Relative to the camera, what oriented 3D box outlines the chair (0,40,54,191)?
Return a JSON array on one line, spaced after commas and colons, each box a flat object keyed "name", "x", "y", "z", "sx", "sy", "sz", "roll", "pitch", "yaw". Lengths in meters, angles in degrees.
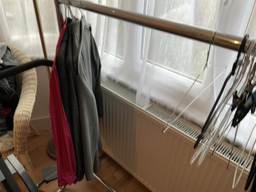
[{"name": "chair", "x": -0.940, "y": 0.170, "z": 1.440, "sx": 0.640, "sy": 0.880, "sz": 0.610, "roll": -6, "pitch": 35, "yaw": -10}]
